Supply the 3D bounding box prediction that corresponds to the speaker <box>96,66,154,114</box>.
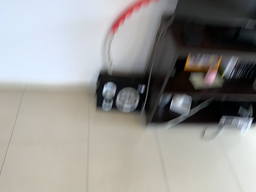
[{"bbox_3d":[-0.040,-0.040,1.640,0.390,0.260,0.230,3,47,-10],"label":"speaker"}]
